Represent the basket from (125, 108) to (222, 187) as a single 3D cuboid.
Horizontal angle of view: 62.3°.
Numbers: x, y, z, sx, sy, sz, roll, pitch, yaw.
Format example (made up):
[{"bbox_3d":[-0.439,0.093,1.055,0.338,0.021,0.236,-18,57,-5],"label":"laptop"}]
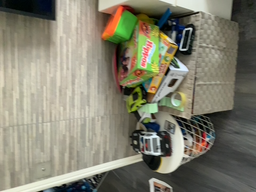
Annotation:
[{"bbox_3d":[0.320,0.310,1.510,0.400,0.550,0.350,9,100,52],"label":"basket"}]
